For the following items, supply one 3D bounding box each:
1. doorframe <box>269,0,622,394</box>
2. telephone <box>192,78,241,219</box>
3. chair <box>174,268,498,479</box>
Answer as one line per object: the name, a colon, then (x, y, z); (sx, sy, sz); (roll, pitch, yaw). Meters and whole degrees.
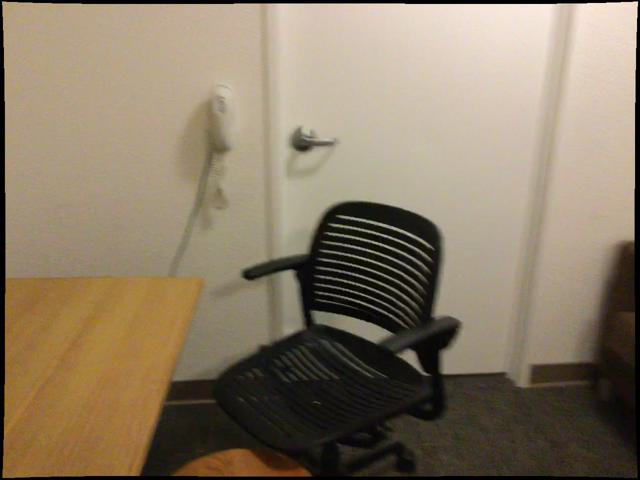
doorframe: (0.380, -0.130, 2.030); (1.049, 1.471, 0.160); (-1, 22, -1)
telephone: (-0.330, -0.290, 1.870); (0.110, 0.440, 0.090); (-1, 22, -1)
chair: (0.030, 0.501, 1.570); (0.659, 0.641, 0.590); (-1, 22, -1)
